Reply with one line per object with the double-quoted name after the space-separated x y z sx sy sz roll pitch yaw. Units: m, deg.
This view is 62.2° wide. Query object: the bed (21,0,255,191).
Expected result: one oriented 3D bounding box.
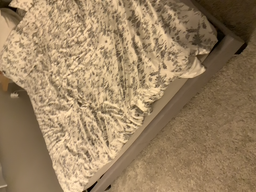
-0.250 -0.350 2.030 2.070 0.570 2.200 -54 55 33 "bed"
